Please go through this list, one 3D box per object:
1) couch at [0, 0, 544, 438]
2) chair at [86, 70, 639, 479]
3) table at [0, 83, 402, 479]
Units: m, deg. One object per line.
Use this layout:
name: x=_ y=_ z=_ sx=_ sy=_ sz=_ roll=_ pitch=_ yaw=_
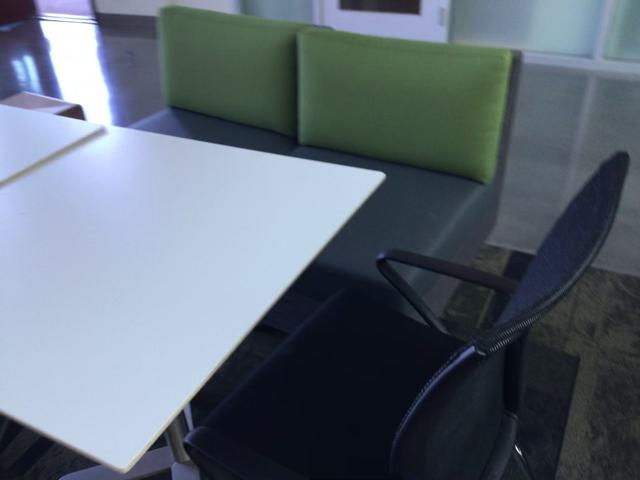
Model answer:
couch: x=-0.160 y=-0.210 z=1.860 sx=1.380 sy=0.870 sz=0.770 roll=17 pitch=36 yaw=26
chair: x=0.130 y=0.270 z=0.990 sx=0.530 sy=0.920 sz=0.600 roll=18 pitch=36 yaw=33
table: x=-0.680 y=0.180 z=1.410 sx=1.500 sy=0.780 sz=0.820 roll=15 pitch=35 yaw=23
